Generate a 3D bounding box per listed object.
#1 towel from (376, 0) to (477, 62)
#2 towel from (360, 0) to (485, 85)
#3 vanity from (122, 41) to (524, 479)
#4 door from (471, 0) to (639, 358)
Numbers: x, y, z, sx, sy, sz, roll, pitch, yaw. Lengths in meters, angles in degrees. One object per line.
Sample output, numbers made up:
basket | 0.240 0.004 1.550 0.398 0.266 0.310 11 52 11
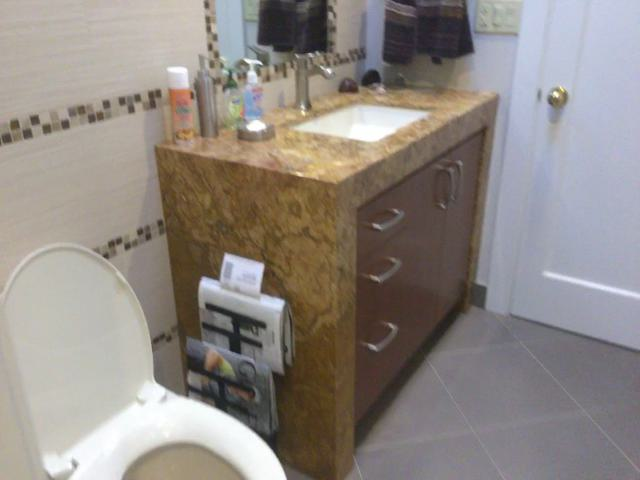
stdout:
towel | 0.370 -0.810 2.010 0.310 0.340 0.130 13 27 28
towel | 0.360 -0.790 2.050 0.400 0.420 0.150 13 27 28
vanity | 0.120 -0.040 1.910 0.660 1.060 1.200 13 27 28
door | 1.060 -0.570 1.740 1.000 2.090 0.070 13 27 28
